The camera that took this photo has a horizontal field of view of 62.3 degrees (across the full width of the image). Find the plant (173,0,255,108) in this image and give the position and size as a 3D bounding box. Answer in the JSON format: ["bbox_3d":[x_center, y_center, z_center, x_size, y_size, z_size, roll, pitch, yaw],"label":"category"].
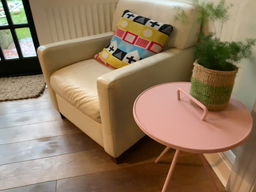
[{"bbox_3d":[0.340,-0.180,0.810,0.220,0.330,0.270,-7,33,-8],"label":"plant"}]
